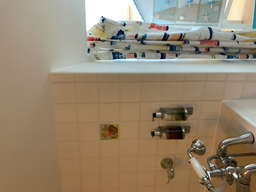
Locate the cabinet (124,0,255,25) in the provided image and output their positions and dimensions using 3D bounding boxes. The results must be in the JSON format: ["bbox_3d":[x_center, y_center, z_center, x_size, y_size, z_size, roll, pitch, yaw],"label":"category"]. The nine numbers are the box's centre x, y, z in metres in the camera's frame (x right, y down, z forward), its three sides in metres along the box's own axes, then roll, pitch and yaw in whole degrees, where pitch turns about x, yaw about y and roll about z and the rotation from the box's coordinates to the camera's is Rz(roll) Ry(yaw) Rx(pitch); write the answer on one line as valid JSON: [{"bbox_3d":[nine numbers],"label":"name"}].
[{"bbox_3d":[0.470,-0.710,1.500,0.300,0.960,0.350,-105,15,-66],"label":"cabinet"}]
